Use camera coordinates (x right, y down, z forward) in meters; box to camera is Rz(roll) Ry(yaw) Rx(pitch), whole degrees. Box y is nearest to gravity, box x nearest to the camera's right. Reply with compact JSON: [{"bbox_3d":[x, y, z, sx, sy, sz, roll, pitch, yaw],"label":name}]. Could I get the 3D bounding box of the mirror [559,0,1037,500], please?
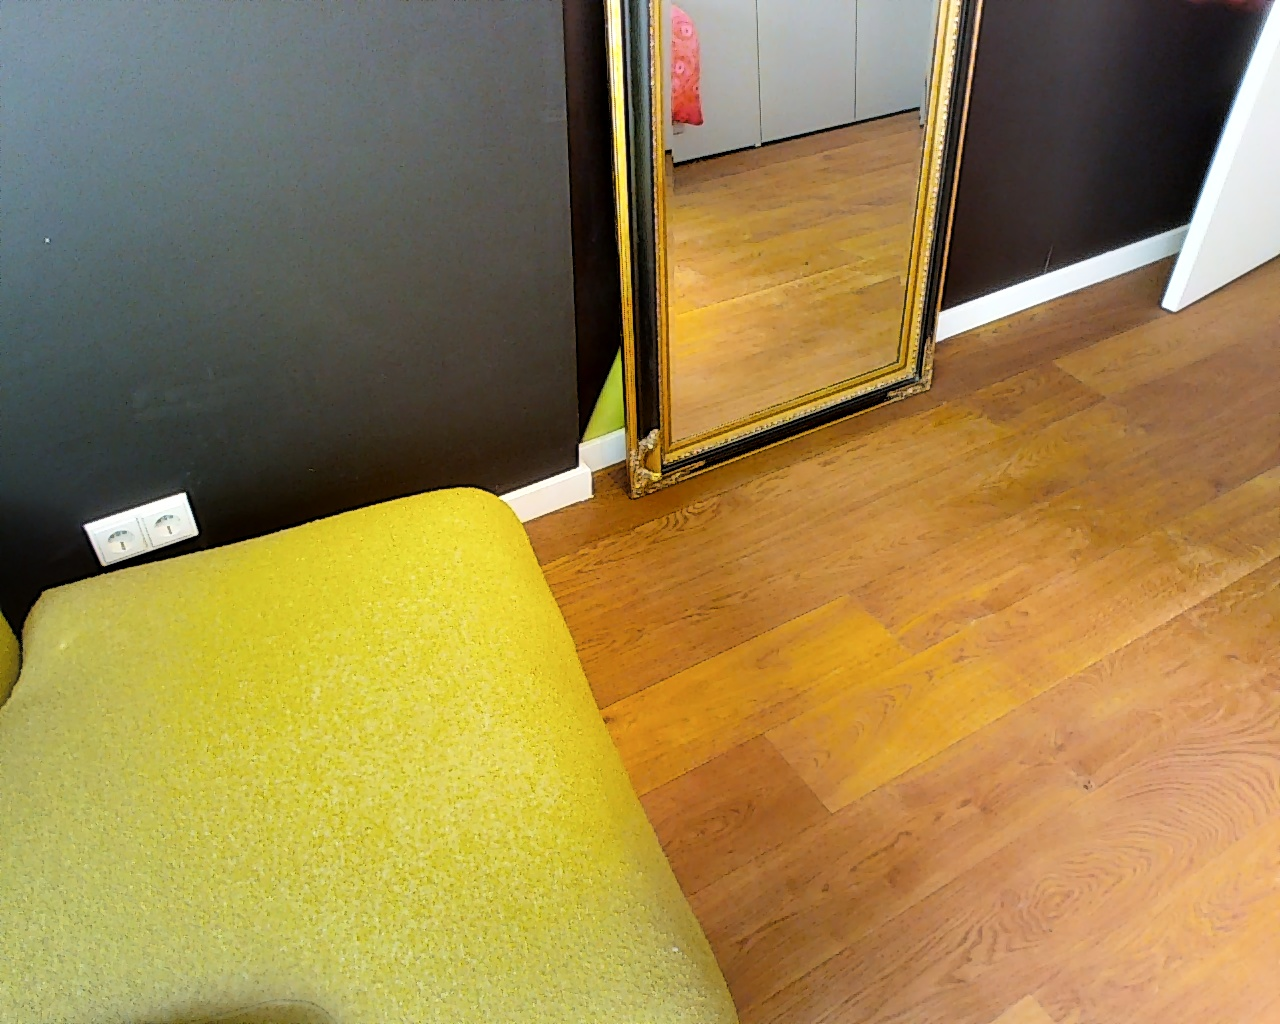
[{"bbox_3d":[0.290,-0.740,1.910,0.890,1.430,0.180,-22,50,-24],"label":"mirror"}]
